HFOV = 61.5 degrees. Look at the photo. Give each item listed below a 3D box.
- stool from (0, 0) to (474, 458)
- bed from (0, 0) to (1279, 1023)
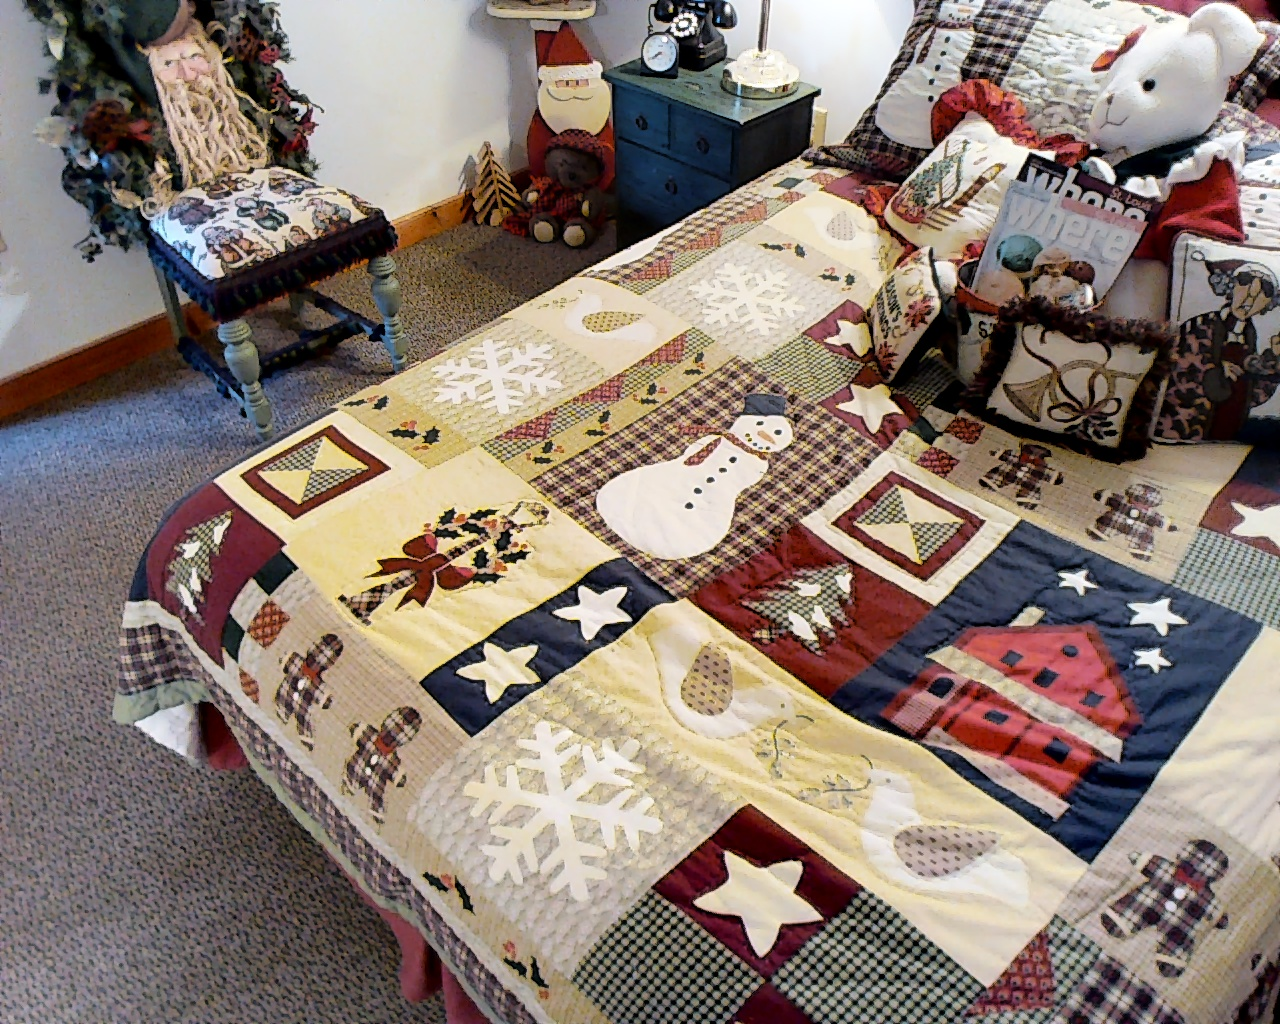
[{"bbox_3d":[-0.910,-0.860,2.340,0.760,1.110,0.640,-32,52,-31],"label":"stool"},{"bbox_3d":[0.400,-0.240,1.460,1.420,1.490,2.120,34,52,31],"label":"bed"}]
